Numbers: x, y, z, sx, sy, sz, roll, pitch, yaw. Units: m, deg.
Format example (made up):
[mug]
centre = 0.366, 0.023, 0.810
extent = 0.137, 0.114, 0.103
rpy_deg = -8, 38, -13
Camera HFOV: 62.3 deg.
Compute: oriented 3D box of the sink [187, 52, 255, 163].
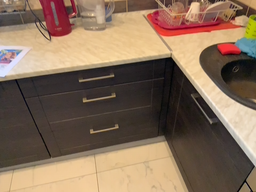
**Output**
[sink]
centre = 0.610, 0.010, 0.980
extent = 0.480, 0.220, 0.440
rpy_deg = -9, 41, -9
